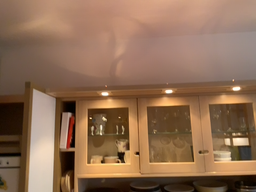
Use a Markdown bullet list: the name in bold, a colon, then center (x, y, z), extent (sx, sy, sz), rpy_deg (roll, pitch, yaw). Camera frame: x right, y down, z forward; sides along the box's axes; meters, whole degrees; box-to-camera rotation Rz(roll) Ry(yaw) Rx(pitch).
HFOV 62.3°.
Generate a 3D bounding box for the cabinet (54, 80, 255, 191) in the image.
- **cabinet**: center (0.370, 0.330, 1.460), extent (1.660, 0.800, 0.280), rpy_deg (-2, -10, 3)
